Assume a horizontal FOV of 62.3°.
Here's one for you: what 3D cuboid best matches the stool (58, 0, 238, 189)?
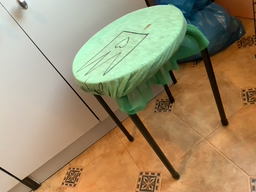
[{"bbox_3d":[0.080,-0.020,0.690,0.330,0.460,0.320,-36,38,-5],"label":"stool"}]
